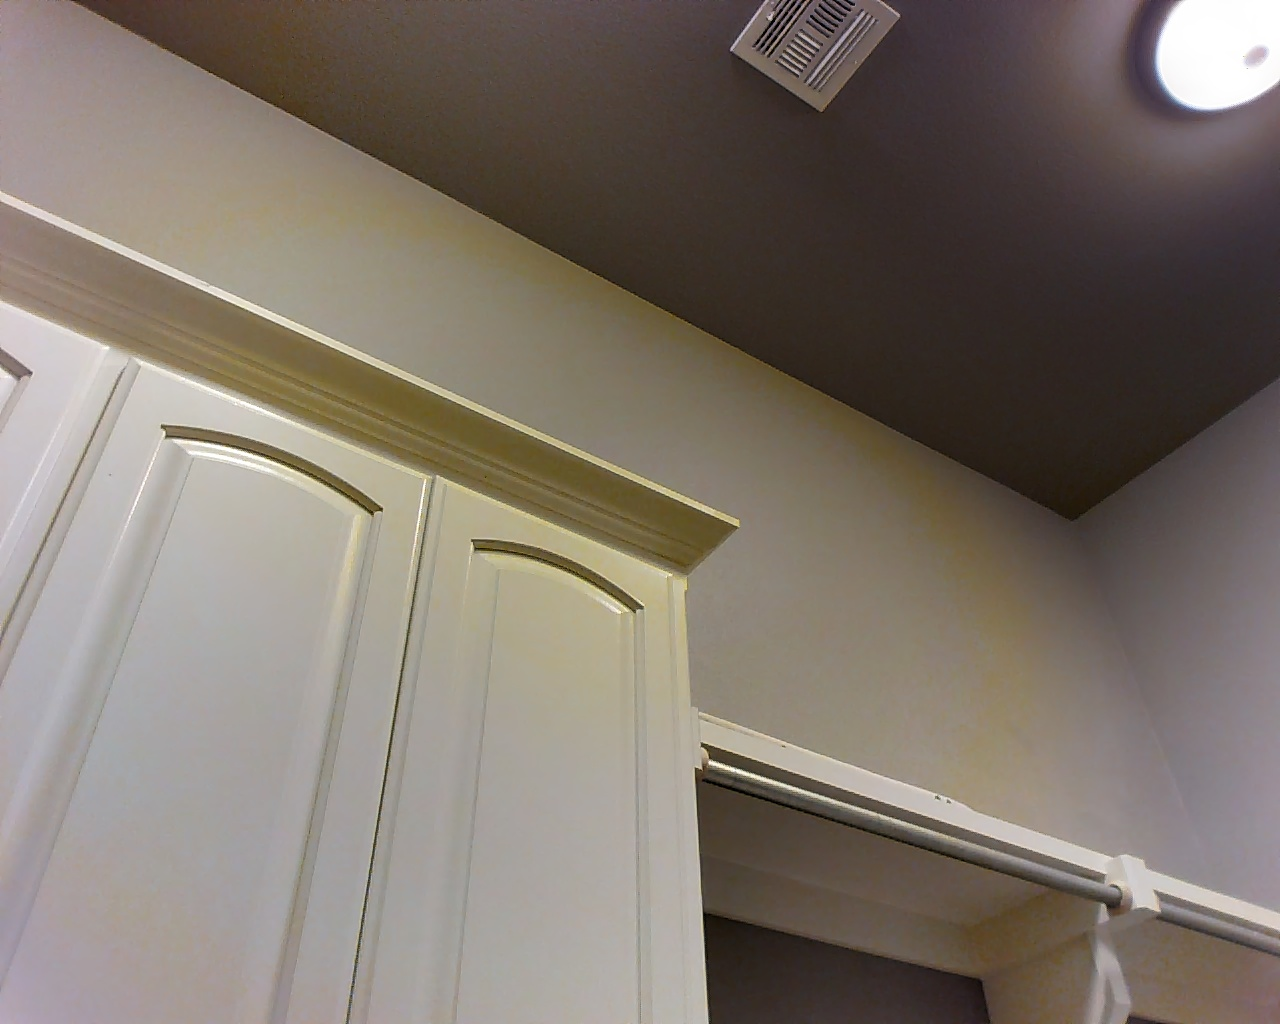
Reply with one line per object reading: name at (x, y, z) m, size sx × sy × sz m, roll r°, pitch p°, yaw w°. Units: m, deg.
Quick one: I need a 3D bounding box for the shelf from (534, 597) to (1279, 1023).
shelf at (0.720, 0.650, 1.950) m, size 1.840 × 0.240 × 0.400 m, roll 23°, pitch -47°, yaw -24°
